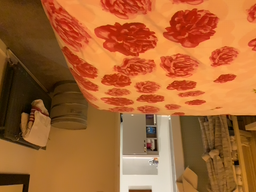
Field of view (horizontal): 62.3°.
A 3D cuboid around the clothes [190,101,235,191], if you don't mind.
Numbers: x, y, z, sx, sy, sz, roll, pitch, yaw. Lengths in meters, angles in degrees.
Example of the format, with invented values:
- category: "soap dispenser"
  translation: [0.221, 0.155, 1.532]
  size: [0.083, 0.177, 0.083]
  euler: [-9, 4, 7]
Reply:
- category: "clothes"
  translation: [0.910, 0.720, 2.270]
  size: [0.200, 1.290, 0.290]
  euler: [18, 154, -40]
